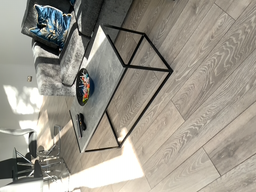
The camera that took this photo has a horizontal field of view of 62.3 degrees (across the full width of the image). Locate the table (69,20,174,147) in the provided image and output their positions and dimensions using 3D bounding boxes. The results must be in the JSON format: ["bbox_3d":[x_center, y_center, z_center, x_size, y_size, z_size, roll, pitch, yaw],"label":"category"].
[{"bbox_3d":[-0.130,-0.060,1.830,0.910,0.430,0.530,-59,44,37],"label":"table"}]

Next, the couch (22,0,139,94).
[{"bbox_3d":[-0.450,-1.110,2.050,2.120,0.750,0.960,-60,44,36],"label":"couch"}]
